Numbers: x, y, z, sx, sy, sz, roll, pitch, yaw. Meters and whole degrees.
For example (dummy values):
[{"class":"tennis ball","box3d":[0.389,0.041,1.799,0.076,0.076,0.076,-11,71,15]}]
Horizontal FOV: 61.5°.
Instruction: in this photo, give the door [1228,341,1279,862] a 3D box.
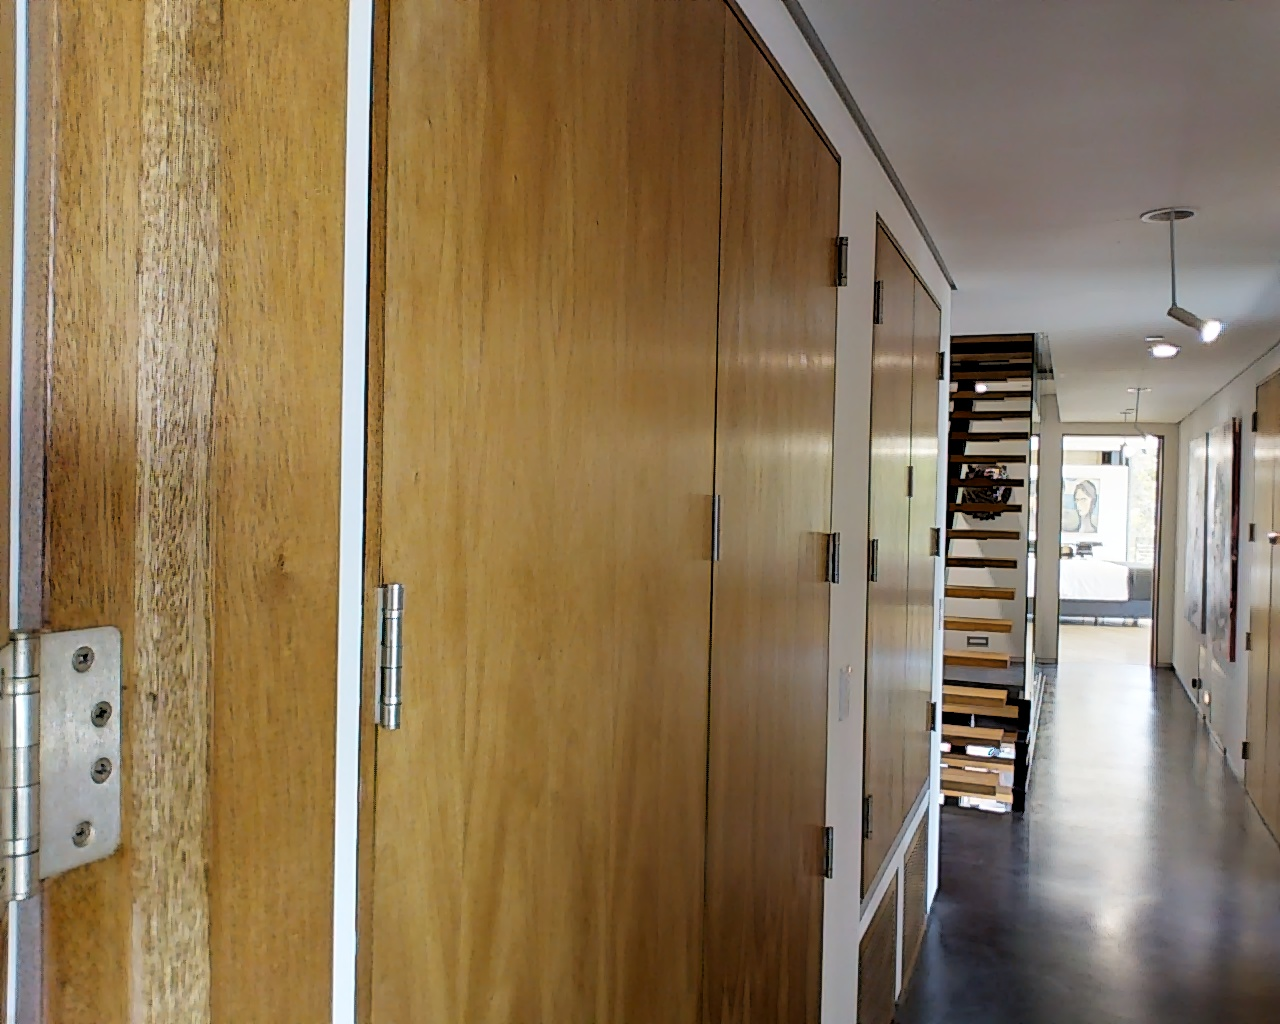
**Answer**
[{"class":"door","box3d":[3.240,0.410,5.580,0.130,2.390,1.430,2,1,23]}]
